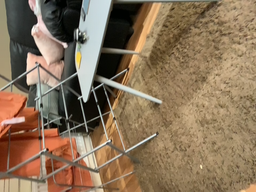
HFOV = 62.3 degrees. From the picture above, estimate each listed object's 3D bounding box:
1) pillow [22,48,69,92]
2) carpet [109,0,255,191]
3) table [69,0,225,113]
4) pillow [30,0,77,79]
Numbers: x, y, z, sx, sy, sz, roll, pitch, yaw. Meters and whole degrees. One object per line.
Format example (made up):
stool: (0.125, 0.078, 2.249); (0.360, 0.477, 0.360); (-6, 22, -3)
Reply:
pillow: (-0.830, -0.250, 2.120); (0.260, 0.400, 0.320); (66, 146, 38)
carpet: (0.240, 0.010, 1.160); (1.040, 0.040, 1.510); (66, 146, 38)
table: (0.010, -0.320, 1.100); (0.440, 0.470, 0.710); (67, 146, 37)
pillow: (-0.640, -0.560, 1.710); (0.660, 0.260, 0.530); (-65, 37, 42)
